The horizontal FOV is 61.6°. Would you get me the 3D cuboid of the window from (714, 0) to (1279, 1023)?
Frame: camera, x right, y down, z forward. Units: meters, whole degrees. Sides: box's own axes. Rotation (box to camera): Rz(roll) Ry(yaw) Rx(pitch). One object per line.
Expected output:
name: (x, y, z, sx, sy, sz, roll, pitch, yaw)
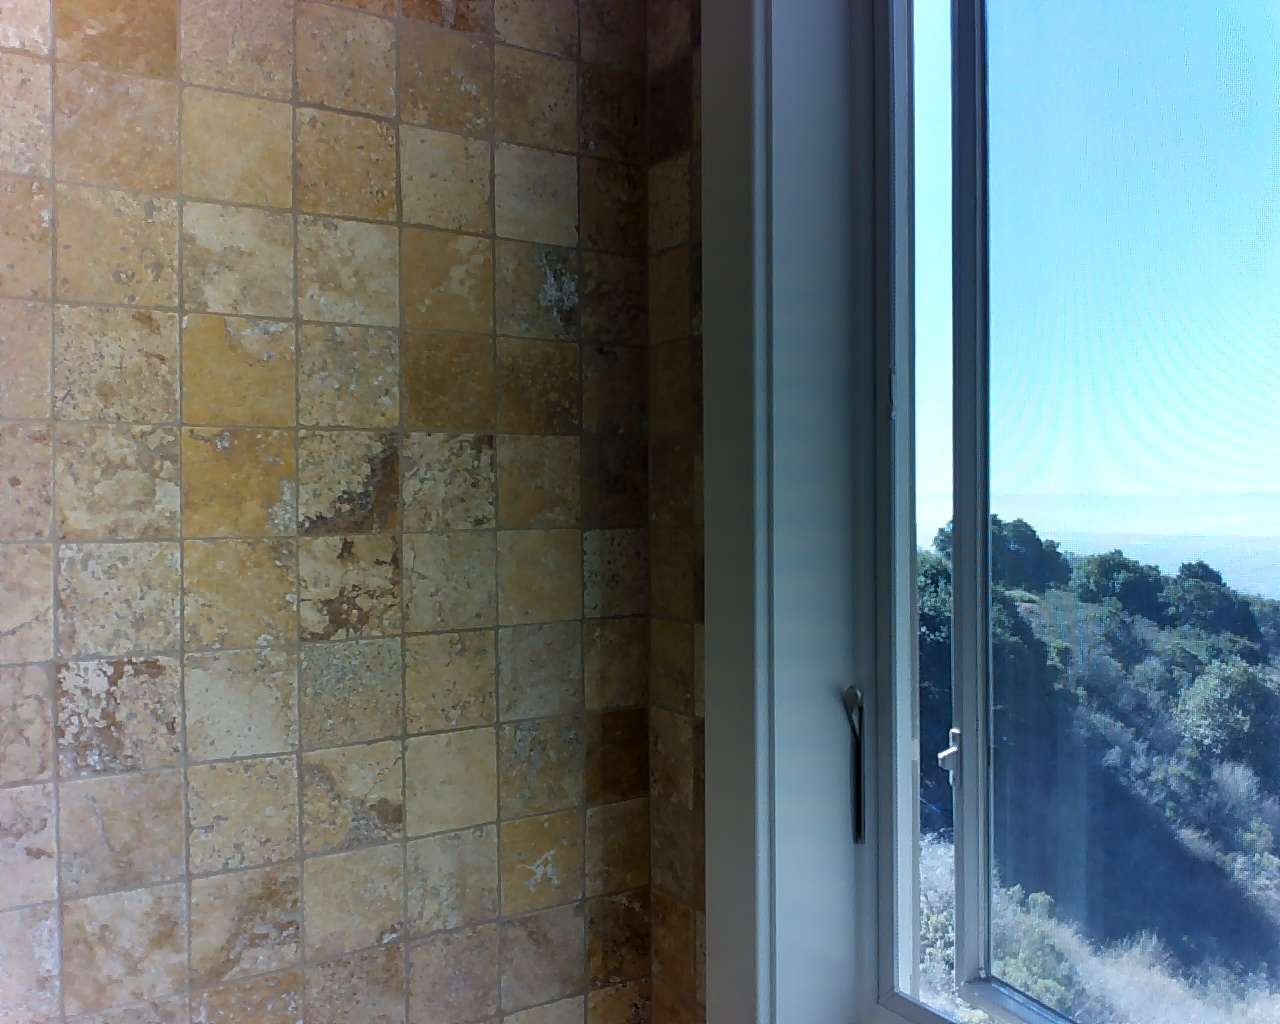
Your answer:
window: (0.390, -0.200, 0.880, 0.270, 1.530, 0.740, 0, 0, -33)
